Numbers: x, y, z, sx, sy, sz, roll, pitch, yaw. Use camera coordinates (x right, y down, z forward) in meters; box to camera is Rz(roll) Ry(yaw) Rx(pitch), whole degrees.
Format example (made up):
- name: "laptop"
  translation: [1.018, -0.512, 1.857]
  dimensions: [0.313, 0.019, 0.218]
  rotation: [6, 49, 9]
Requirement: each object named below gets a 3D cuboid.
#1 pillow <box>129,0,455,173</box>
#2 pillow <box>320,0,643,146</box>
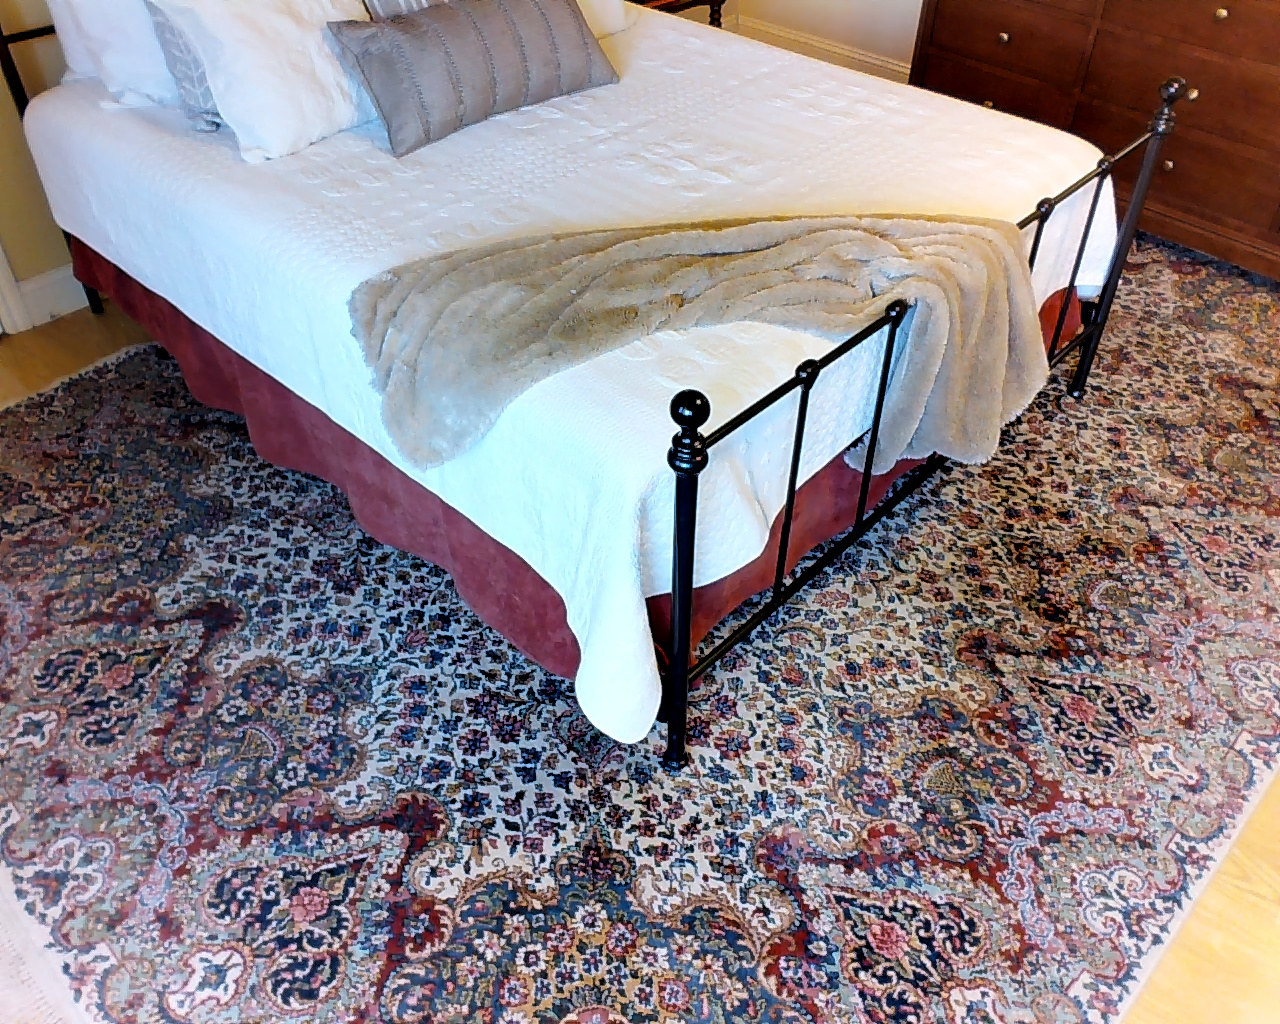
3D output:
- name: "pillow"
  translation: [-0.730, -1.020, 2.260]
  dimensions: [0.510, 0.430, 0.230]
  rotation: [-35, 26, -33]
- name: "pillow"
  translation: [-0.330, -1.040, 2.400]
  dimensions: [0.670, 0.240, 0.230]
  rotation: [-35, 34, -33]
